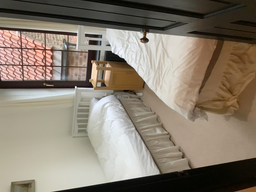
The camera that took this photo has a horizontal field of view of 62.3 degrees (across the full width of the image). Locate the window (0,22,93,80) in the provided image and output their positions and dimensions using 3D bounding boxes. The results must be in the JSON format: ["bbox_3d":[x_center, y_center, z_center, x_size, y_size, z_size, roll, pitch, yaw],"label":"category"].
[{"bbox_3d":[-1.300,-0.670,3.410,0.060,1.380,0.850,-124,40,-53],"label":"window"}]
